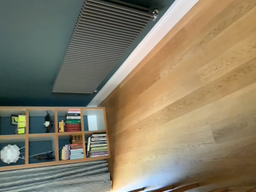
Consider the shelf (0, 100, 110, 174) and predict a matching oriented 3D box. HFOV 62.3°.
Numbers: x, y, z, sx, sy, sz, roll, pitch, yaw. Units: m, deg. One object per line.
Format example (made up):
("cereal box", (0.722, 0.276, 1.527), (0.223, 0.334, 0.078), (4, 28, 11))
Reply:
("shelf", (-1.390, 0.610, 3.330), (0.460, 2.070, 0.980), (-39, 55, 54))
